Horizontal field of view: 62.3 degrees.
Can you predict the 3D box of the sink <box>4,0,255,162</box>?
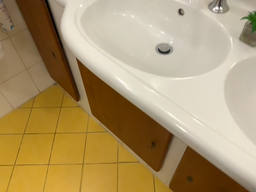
[{"bbox_3d":[0.020,-0.220,0.720,0.650,0.200,0.520,38,62,24],"label":"sink"}]
